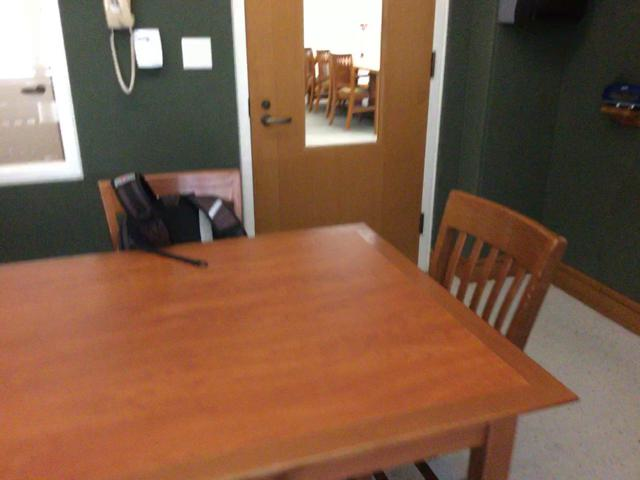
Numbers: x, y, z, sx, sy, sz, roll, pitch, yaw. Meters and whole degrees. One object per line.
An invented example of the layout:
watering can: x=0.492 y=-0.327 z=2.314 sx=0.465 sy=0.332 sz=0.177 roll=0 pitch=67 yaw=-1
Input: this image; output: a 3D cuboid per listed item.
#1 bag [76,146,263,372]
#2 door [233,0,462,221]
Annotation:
bag: x=-0.410 y=0.030 z=1.670 sx=0.250 sy=0.510 sz=0.410 roll=18 pitch=28 yaw=38
door: x=0.140 y=-0.970 z=2.540 sx=1.030 sy=1.720 sz=0.110 roll=-7 pitch=22 yaw=-18
